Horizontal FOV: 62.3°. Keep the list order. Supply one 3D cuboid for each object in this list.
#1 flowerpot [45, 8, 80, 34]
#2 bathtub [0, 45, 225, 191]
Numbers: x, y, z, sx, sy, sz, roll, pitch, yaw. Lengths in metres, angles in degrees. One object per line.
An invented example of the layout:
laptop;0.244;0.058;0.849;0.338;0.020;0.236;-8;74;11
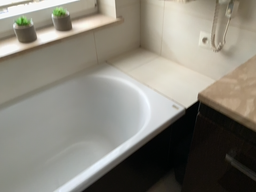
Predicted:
flowerpot;-0.380;-0.440;1.240;0.140;0.090;0.120;-28;45;-30
bathtub;-0.430;0.400;1.080;2.000;0.550;0.690;-29;45;-30
